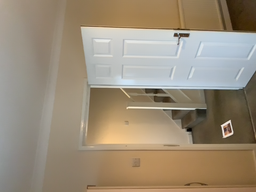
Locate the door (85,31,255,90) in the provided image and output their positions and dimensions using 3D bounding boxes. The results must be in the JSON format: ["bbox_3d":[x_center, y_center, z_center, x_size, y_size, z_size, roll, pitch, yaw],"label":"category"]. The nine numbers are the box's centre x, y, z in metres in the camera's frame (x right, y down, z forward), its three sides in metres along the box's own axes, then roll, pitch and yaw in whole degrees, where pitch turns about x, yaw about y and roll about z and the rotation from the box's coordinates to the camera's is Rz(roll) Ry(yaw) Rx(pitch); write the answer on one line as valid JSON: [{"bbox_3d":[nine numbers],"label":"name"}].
[{"bbox_3d":[0.530,-0.350,2.380,0.770,1.930,0.050,95,175,-49],"label":"door"}]
